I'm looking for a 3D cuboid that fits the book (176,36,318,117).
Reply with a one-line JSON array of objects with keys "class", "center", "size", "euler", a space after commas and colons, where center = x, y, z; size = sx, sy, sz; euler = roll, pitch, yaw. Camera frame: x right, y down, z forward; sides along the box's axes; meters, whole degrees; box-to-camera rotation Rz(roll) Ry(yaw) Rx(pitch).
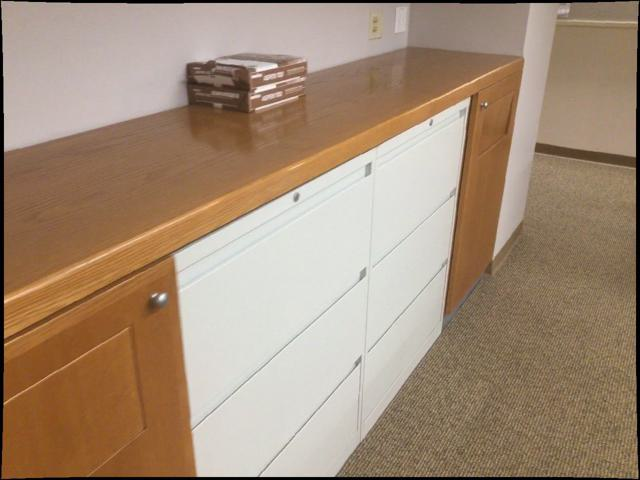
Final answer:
[{"class": "book", "center": [-0.200, -0.471, 1.630], "size": [0.240, 0.120, 0.310], "euler": [25, 38, 31]}]
